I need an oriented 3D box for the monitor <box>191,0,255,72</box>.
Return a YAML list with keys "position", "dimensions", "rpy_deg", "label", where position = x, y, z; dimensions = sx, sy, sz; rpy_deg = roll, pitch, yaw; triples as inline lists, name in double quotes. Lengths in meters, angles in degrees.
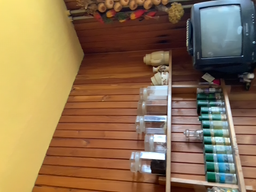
- position: [0.570, -0.360, 1.290]
  dimensions: [0.310, 0.340, 0.400]
  rpy_deg: [-10, -80, -77]
  label: "monitor"
